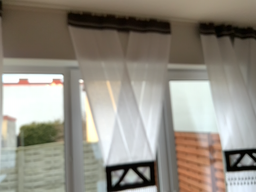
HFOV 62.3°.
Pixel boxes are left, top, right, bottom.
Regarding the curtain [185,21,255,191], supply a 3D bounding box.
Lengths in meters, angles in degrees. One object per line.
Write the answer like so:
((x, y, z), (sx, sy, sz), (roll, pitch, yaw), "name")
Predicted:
((1.270, 0.600, 2.100), (1.220, 2.620, 0.200), (-2, -7, -18), "curtain")
